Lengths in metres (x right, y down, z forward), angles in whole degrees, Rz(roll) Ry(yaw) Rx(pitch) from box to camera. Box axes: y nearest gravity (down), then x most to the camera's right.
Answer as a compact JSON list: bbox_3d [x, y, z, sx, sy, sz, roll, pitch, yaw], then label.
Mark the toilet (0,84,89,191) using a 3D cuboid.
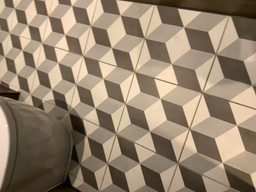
[{"bbox_3d":[-0.540,0.220,1.080,0.380,0.450,0.470,19,99,24],"label":"toilet"}]
